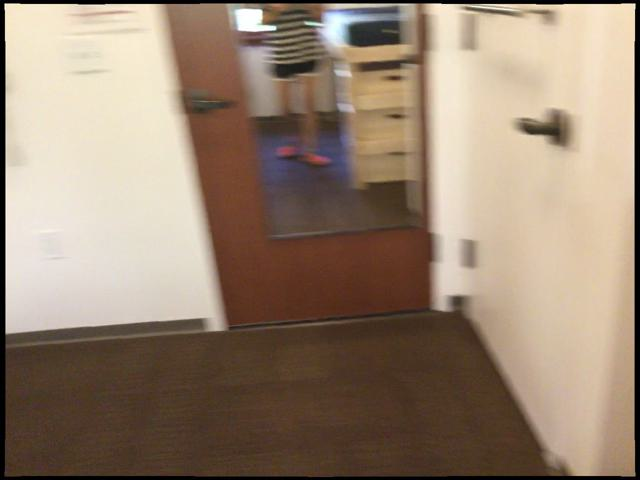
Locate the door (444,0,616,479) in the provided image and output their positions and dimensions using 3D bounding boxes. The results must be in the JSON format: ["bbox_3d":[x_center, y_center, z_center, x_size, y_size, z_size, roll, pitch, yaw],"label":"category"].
[{"bbox_3d":[0.549,-0.180,1.770,0.090,1.442,0.970,-6,23,-1],"label":"door"}]

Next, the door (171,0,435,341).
[{"bbox_3d":[-0.030,-0.501,2.100,0.868,1.883,0.070,-6,23,-2],"label":"door"}]
